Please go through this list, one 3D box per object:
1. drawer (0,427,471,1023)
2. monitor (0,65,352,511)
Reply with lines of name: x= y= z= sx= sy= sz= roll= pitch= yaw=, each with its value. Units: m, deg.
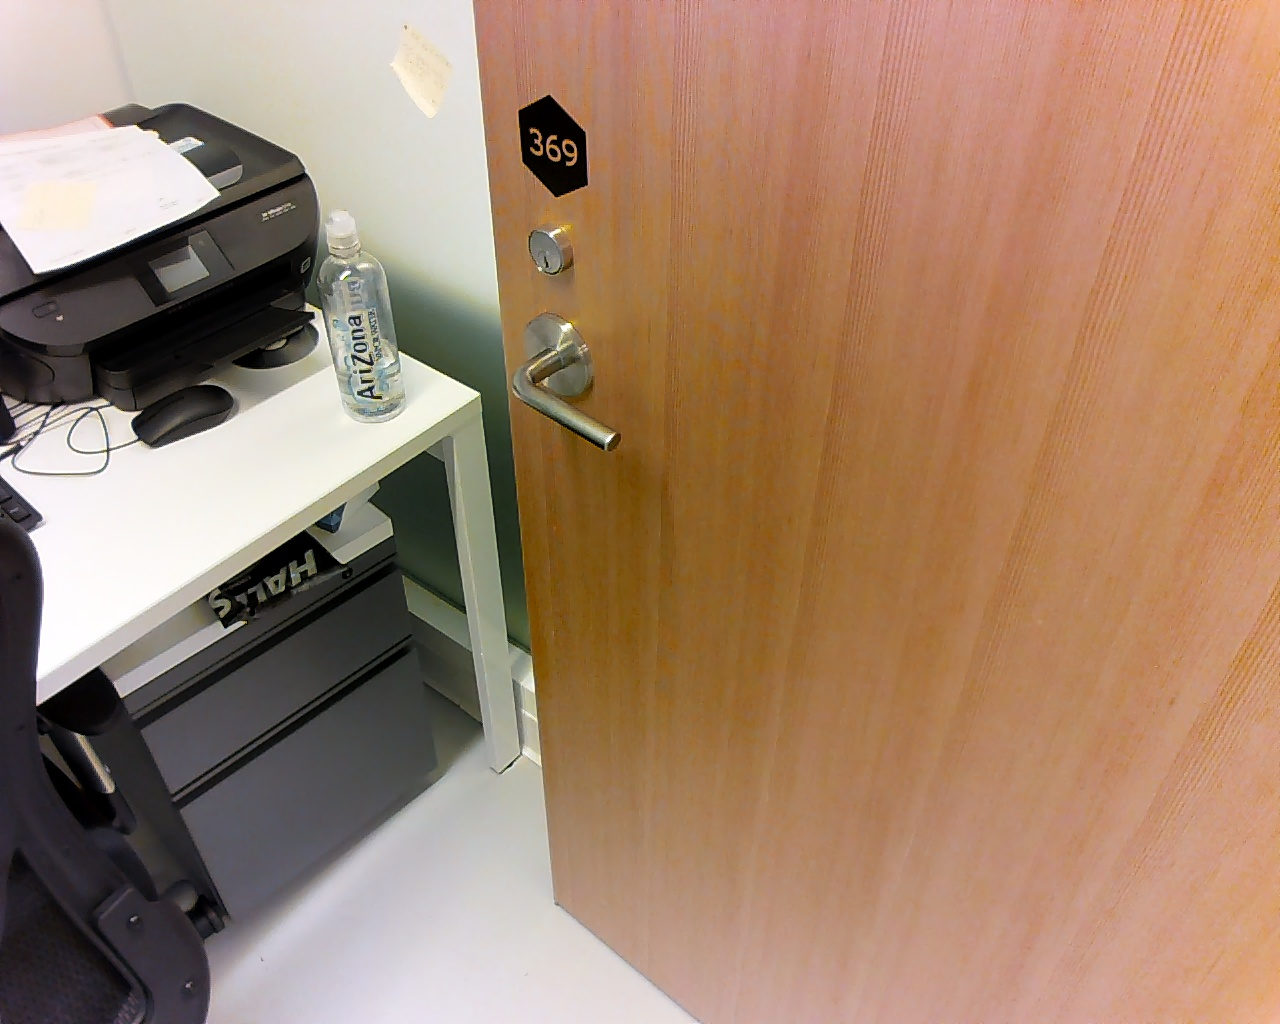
drawer: x=-0.490 y=0.290 z=1.410 sx=0.140 sy=0.630 sz=0.520 roll=28 pitch=49 yaw=28
monitor: x=-0.690 y=-0.300 z=1.280 sx=0.630 sy=0.240 sz=0.300 roll=28 pitch=49 yaw=28
